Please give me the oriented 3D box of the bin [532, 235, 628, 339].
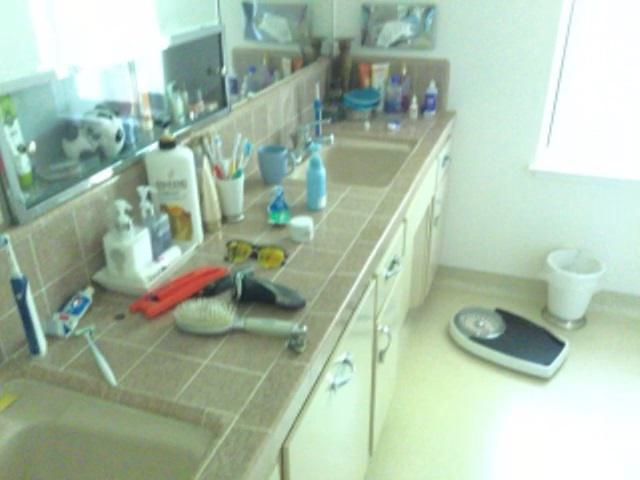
[{"bbox_3d":[0.990,0.170,2.210,0.290,0.260,0.270,7,28,22],"label":"bin"}]
